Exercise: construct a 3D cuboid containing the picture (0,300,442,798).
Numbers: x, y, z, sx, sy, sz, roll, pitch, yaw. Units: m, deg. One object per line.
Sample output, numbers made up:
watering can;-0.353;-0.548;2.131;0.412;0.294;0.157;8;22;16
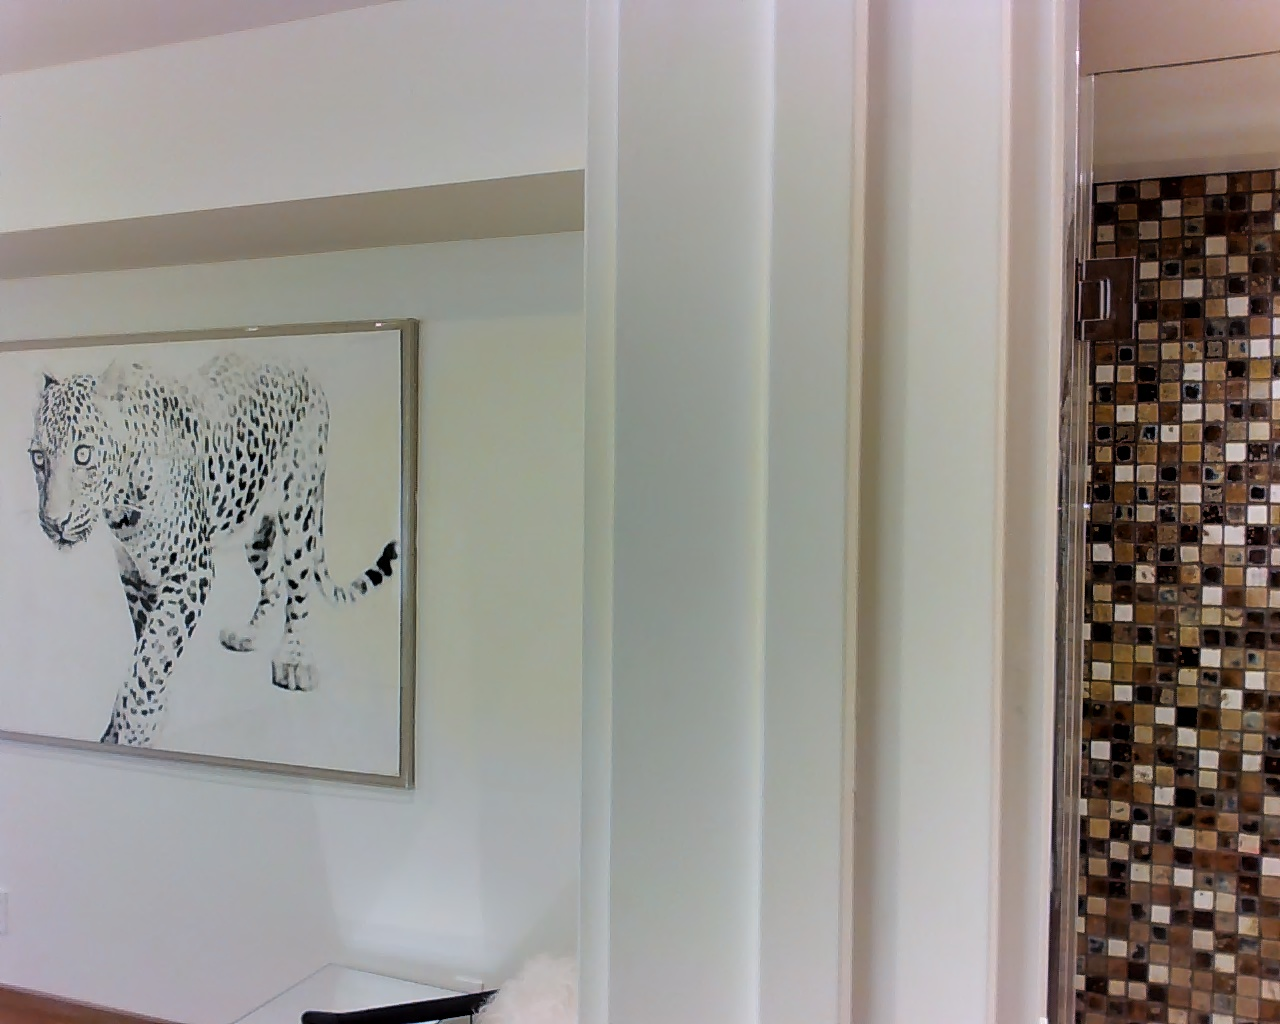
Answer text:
picture;-1.190;0.080;2.820;1.500;1.170;0.050;1;0;21
